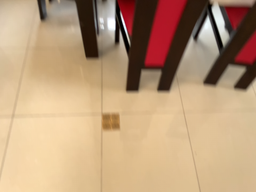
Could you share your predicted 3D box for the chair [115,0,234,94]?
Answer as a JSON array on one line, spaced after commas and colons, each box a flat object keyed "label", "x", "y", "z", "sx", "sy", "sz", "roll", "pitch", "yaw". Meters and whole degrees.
[{"label": "chair", "x": 0.150, "y": -0.480, "z": 1.000, "sx": 0.390, "sy": 1.030, "sz": 0.510, "roll": -1, "pitch": 63, "yaw": -5}]

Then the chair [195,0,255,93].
[{"label": "chair", "x": 0.710, "y": -0.510, "z": 1.050, "sx": 0.370, "sy": 1.050, "sz": 0.510, "roll": 8, "pitch": 62, "yaw": 0}]
